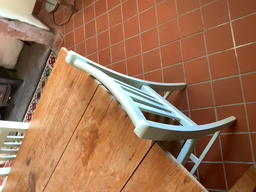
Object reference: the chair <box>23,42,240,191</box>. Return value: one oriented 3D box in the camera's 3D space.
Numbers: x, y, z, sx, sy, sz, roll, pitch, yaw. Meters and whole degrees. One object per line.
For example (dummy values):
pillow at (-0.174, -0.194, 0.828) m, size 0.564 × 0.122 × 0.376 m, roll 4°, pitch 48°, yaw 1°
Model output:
chair at (0.090, 0.160, 0.990) m, size 0.440 × 0.850 × 0.460 m, roll 44°, pitch 113°, yaw 31°
